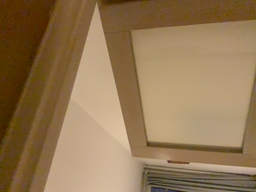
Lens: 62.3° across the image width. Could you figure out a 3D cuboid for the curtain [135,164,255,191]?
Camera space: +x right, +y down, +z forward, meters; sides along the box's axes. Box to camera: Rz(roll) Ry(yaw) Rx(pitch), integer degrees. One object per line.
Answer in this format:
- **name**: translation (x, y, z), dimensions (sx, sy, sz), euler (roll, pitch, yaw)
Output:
- **curtain**: translation (1.130, 1.450, 3.690), dimensions (0.340, 1.970, 0.280), euler (60, -146, -62)
